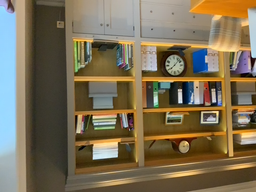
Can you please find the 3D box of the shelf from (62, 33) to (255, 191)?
[{"bbox_3d":[0.660,0.160,2.910,2.940,1.670,0.680,-1,178,-15],"label":"shelf"}]
